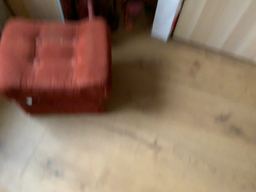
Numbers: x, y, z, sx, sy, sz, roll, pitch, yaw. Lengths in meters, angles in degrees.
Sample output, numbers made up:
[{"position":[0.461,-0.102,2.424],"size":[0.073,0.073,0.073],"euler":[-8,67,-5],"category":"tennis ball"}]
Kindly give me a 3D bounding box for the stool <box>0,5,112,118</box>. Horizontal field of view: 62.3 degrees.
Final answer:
[{"position":[-0.310,-0.140,0.990],"size":[0.470,0.360,0.370],"euler":[0,64,-4],"category":"stool"}]
